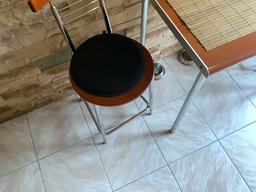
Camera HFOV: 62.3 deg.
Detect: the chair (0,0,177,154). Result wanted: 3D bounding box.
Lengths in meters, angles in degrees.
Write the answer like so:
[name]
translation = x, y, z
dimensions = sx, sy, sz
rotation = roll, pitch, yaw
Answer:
[chair]
translation = -0.150, -0.090, 1.070
dimensions = 0.490, 0.840, 0.410
rotation = -23, 65, -10
